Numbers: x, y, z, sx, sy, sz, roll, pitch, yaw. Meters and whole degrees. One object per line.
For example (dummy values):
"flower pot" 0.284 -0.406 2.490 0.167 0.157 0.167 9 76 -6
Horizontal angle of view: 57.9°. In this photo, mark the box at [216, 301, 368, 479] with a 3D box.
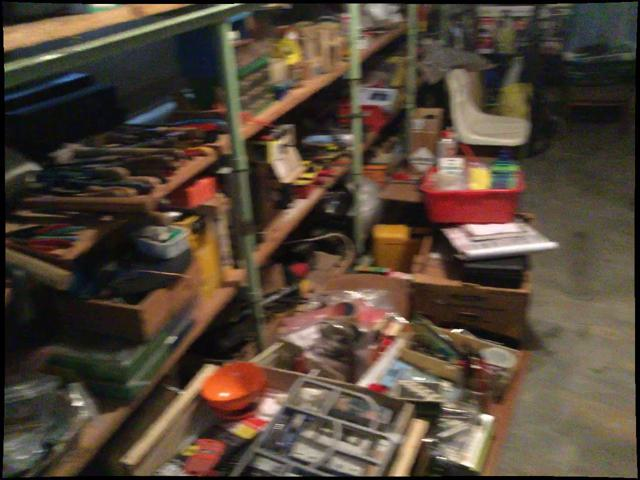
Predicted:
"box" -0.040 0.320 1.220 0.200 0.210 0.320 6 31 18
